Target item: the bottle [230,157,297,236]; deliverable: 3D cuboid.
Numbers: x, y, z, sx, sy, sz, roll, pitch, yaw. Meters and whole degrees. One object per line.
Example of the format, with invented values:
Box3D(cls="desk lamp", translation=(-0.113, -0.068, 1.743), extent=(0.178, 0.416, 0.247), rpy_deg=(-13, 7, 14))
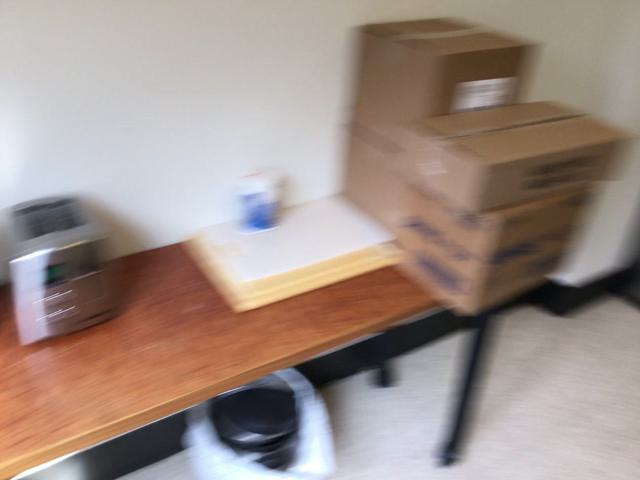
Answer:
Box3D(cls="bottle", translation=(-0.140, -0.110, 1.440), extent=(0.120, 0.140, 0.110), rpy_deg=(-18, 34, -25))
